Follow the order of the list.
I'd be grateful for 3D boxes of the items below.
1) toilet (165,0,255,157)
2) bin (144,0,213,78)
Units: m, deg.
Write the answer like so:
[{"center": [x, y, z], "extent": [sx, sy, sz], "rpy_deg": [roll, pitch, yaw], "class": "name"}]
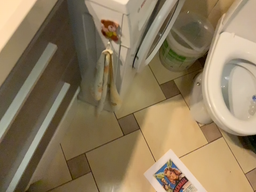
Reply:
[{"center": [0.550, -0.140, 0.960], "extent": [0.380, 0.830, 0.650], "rpy_deg": [22, 69, 2], "class": "toilet"}, {"center": [0.290, -0.340, 1.290], "extent": [0.250, 0.320, 0.270], "rpy_deg": [24, 69, 3], "class": "bin"}]
